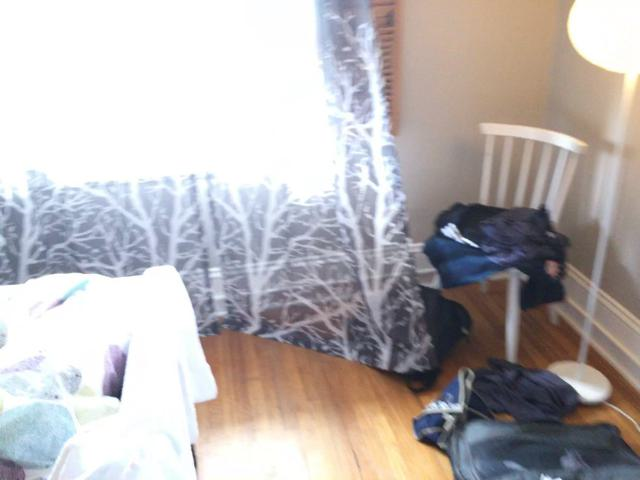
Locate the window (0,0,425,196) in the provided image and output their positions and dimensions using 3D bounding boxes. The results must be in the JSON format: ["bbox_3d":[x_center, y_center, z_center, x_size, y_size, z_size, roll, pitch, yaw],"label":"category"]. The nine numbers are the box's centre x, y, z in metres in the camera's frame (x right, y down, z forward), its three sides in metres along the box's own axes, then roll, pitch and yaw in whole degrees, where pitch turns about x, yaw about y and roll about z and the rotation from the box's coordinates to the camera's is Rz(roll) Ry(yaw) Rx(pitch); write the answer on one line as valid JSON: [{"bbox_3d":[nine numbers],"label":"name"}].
[{"bbox_3d":[-0.500,-0.860,1.950,1.730,1.290,0.240,-7,26,-11],"label":"window"}]

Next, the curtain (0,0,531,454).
[{"bbox_3d":[-0.380,-0.480,1.920,1.860,2.070,0.740,-7,26,-11],"label":"curtain"}]

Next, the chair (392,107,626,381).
[{"bbox_3d":[0.720,-0.030,2.320,0.640,0.830,0.530,20,32,37],"label":"chair"}]
